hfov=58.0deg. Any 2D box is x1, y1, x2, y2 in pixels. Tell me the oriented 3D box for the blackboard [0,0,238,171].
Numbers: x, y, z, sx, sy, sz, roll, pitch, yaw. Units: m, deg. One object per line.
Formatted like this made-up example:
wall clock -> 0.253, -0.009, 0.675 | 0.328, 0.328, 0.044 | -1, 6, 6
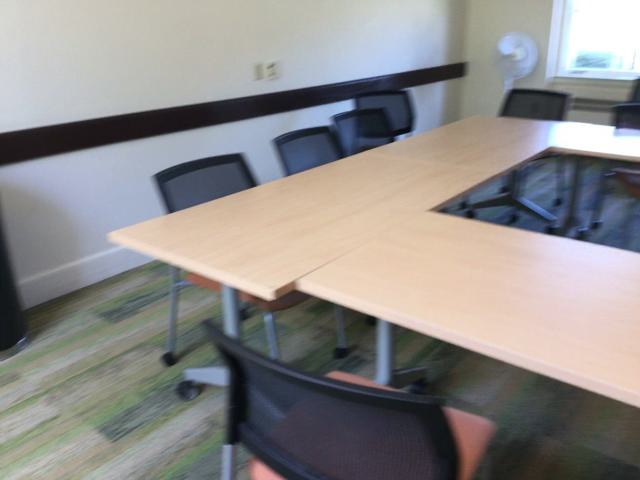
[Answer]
blackboard -> -1.070, -1.020, 2.810 | 0.250, 1.140, 1.530 | 15, 24, 36
